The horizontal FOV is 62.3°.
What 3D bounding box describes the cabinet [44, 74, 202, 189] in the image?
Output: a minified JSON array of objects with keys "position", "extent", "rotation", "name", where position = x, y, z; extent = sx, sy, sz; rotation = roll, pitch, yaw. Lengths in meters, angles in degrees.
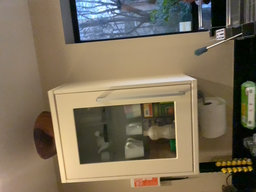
[{"position":[-0.010,0.190,1.290],"extent":[0.310,0.800,0.560],"rotation":[-85,-9,-79],"name":"cabinet"}]
